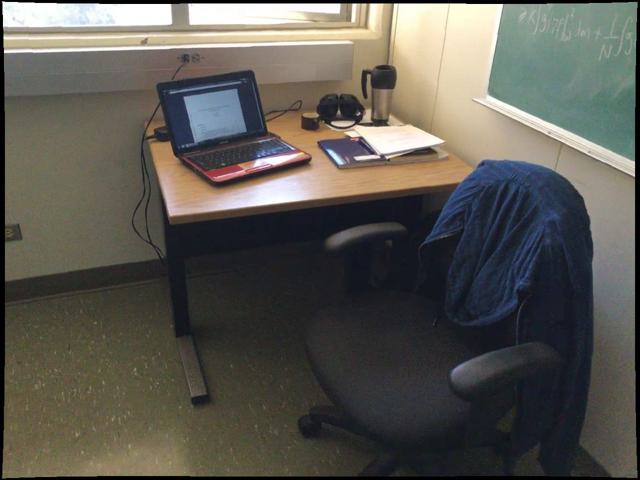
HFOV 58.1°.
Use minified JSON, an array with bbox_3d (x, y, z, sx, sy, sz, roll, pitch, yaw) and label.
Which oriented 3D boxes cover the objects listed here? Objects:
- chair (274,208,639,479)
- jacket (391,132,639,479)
[{"bbox_3d":[0.279,0.381,1.490,0.619,0.641,0.630,-10,31,-20],"label":"chair"},{"bbox_3d":[0.509,0.241,1.510,0.359,0.882,0.520,-10,31,-20],"label":"jacket"}]
